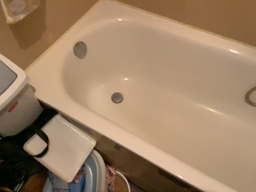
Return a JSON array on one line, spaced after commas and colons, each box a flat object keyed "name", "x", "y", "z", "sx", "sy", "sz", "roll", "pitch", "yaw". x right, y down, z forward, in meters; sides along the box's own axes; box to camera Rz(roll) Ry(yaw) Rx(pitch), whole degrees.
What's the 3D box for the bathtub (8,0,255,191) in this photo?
[{"name": "bathtub", "x": 0.390, "y": 0.180, "z": 1.110, "sx": 1.670, "sy": 0.610, "sz": 0.740, "roll": 26, "pitch": 61, "yaw": 17}]
